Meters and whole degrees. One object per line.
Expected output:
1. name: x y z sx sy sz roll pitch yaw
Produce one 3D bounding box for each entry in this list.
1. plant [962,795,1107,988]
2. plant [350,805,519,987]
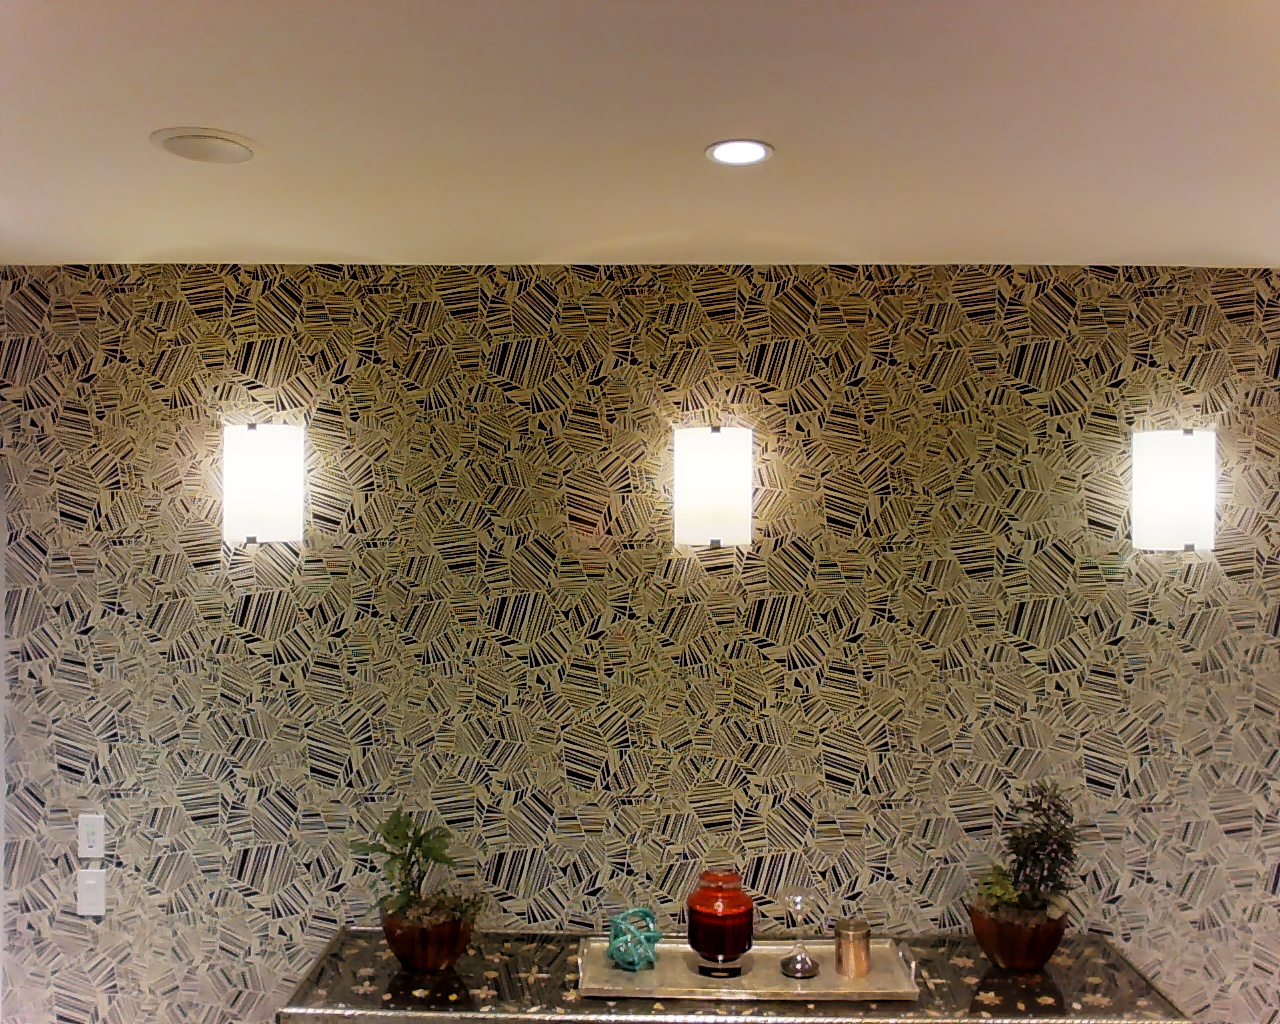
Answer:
1. plant: 0.970 0.930 2.660 0.270 0.400 0.220 1 0 -1
2. plant: -0.500 0.940 2.660 0.360 0.350 0.260 1 0 2
